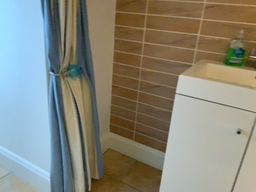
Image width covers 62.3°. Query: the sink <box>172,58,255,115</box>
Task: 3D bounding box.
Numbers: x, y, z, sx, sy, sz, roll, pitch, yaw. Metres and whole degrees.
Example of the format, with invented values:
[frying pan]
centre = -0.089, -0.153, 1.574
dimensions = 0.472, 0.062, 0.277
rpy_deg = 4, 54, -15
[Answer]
[sink]
centre = 0.560, -0.040, 0.910
dimensions = 0.610, 0.080, 0.470
rpy_deg = 15, 24, 24
